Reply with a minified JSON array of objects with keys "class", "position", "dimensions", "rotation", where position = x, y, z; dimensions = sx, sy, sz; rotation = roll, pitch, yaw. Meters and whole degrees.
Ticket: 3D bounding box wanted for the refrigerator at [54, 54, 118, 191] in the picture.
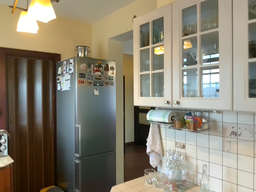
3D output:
[{"class":"refrigerator","position":[-0.600,0.500,2.980],"dimensions":[0.620,2.010,0.700],"rotation":[0,1,-40]}]
